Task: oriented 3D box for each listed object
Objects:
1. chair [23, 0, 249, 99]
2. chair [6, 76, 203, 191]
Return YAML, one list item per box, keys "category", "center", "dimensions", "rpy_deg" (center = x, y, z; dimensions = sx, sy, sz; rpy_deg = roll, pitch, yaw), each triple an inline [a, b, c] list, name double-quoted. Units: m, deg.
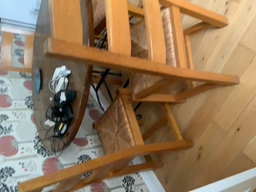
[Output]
- category: "chair"
  center: [0.080, -0.240, 1.060]
  dimensions: [0.470, 1.020, 0.450]
  rpy_deg: [-16, 77, 53]
- category: "chair"
  center: [-0.150, 0.280, 1.360]
  dimensions: [0.520, 1.030, 0.540]
  rpy_deg: [-48, 52, 43]
